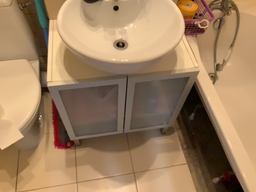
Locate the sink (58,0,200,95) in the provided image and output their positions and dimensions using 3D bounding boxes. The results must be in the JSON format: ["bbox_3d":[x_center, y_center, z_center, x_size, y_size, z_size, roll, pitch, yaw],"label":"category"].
[{"bbox_3d":[-0.030,-0.260,0.850,0.450,0.160,0.450,-7,56,-9],"label":"sink"}]

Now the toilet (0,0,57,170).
[{"bbox_3d":[-0.660,-0.080,1.130,0.390,0.740,0.700,-7,56,-9],"label":"toilet"}]
